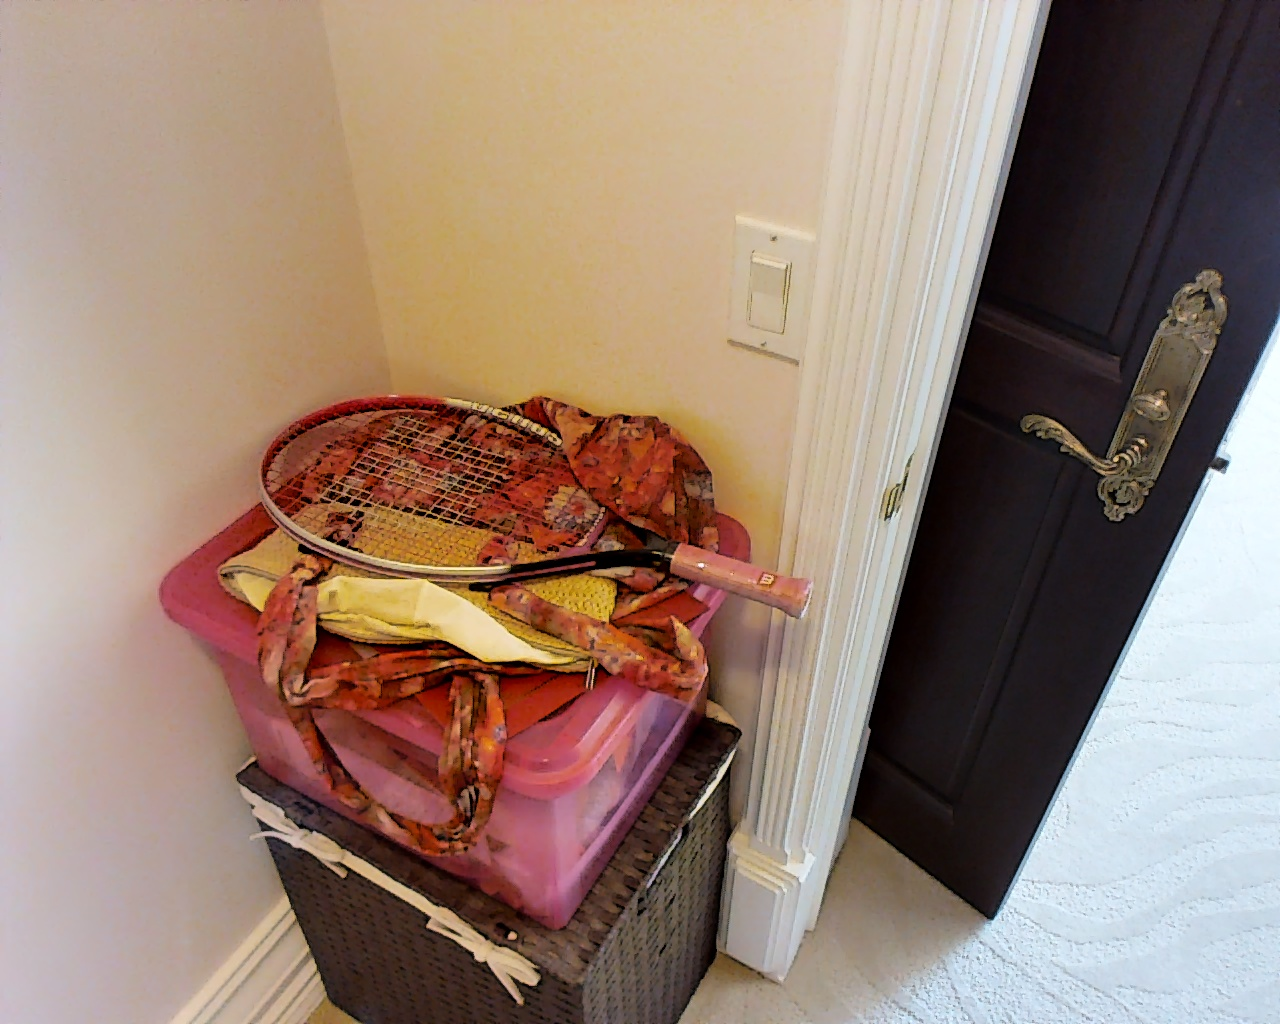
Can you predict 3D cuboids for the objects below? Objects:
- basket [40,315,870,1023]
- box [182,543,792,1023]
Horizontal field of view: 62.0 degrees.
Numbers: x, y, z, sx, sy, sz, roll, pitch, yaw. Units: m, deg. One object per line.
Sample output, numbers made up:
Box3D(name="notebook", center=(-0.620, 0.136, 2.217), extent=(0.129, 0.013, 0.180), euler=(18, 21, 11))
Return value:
Box3D(name="basket", center=(-0.140, 0.130, 0.990), extent=(0.540, 0.340, 0.410), euler=(21, 46, 22))
Box3D(name="box", center=(-0.150, 0.440, 1.290), extent=(0.490, 0.540, 0.400), euler=(23, 47, 24))
